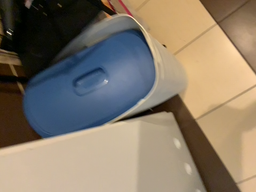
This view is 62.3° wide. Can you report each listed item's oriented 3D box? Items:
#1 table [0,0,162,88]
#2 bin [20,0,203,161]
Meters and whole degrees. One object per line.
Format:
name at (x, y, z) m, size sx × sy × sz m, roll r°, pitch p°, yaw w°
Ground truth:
table at (-0.290, -0.320, 0.750) m, size 0.370 × 1.000 × 0.430 m, roll -37°, pitch 75°, yaw 22°
bin at (0.010, -0.040, 0.880) m, size 0.410 × 0.650 × 0.280 m, roll -37°, pitch 75°, yaw 21°
